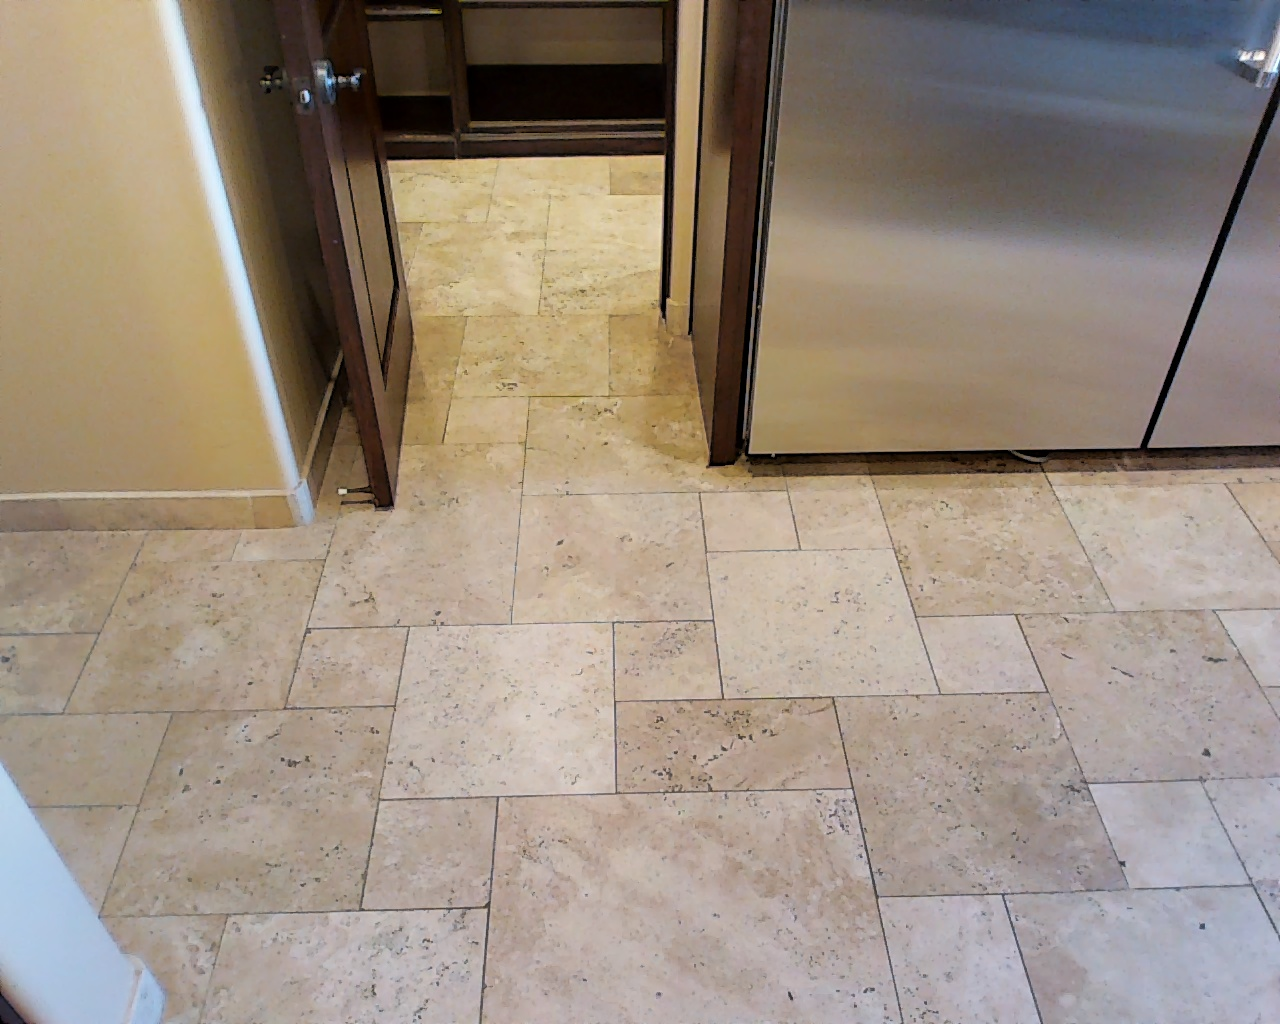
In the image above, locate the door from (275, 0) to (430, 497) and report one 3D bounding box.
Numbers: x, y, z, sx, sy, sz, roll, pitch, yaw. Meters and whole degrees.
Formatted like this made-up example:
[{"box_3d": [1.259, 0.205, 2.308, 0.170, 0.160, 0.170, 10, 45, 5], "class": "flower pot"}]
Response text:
[{"box_3d": [-0.570, -1.190, 1.840, 0.100, 2.459, 0.700, -4, 42, -5], "class": "door"}]
